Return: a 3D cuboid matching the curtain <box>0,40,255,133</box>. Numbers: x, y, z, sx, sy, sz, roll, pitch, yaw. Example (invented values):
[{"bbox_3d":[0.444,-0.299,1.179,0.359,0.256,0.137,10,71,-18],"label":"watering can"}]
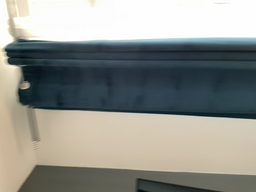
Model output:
[{"bbox_3d":[0.450,-0.070,1.300,0.240,2.630,0.520,-75,-14,-76],"label":"curtain"}]
